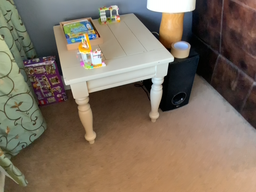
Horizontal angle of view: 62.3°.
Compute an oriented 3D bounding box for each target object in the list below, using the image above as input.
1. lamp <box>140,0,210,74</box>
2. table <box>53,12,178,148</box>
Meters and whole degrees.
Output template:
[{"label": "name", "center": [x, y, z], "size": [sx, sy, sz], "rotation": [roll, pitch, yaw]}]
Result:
[{"label": "lamp", "center": [0.240, -0.440, 1.180], "size": [0.250, 0.530, 0.270], "rotation": [-15, 45, -14]}, {"label": "table", "center": [-0.100, -0.120, 1.280], "size": [0.520, 0.500, 0.540], "rotation": [-14, 45, -14]}]
